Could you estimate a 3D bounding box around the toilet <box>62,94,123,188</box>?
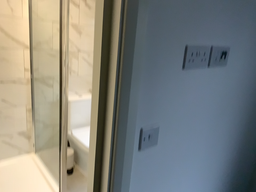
[{"bbox_3d":[-0.460,0.480,2.530,0.410,0.820,0.660,-8,20,-39],"label":"toilet"}]
